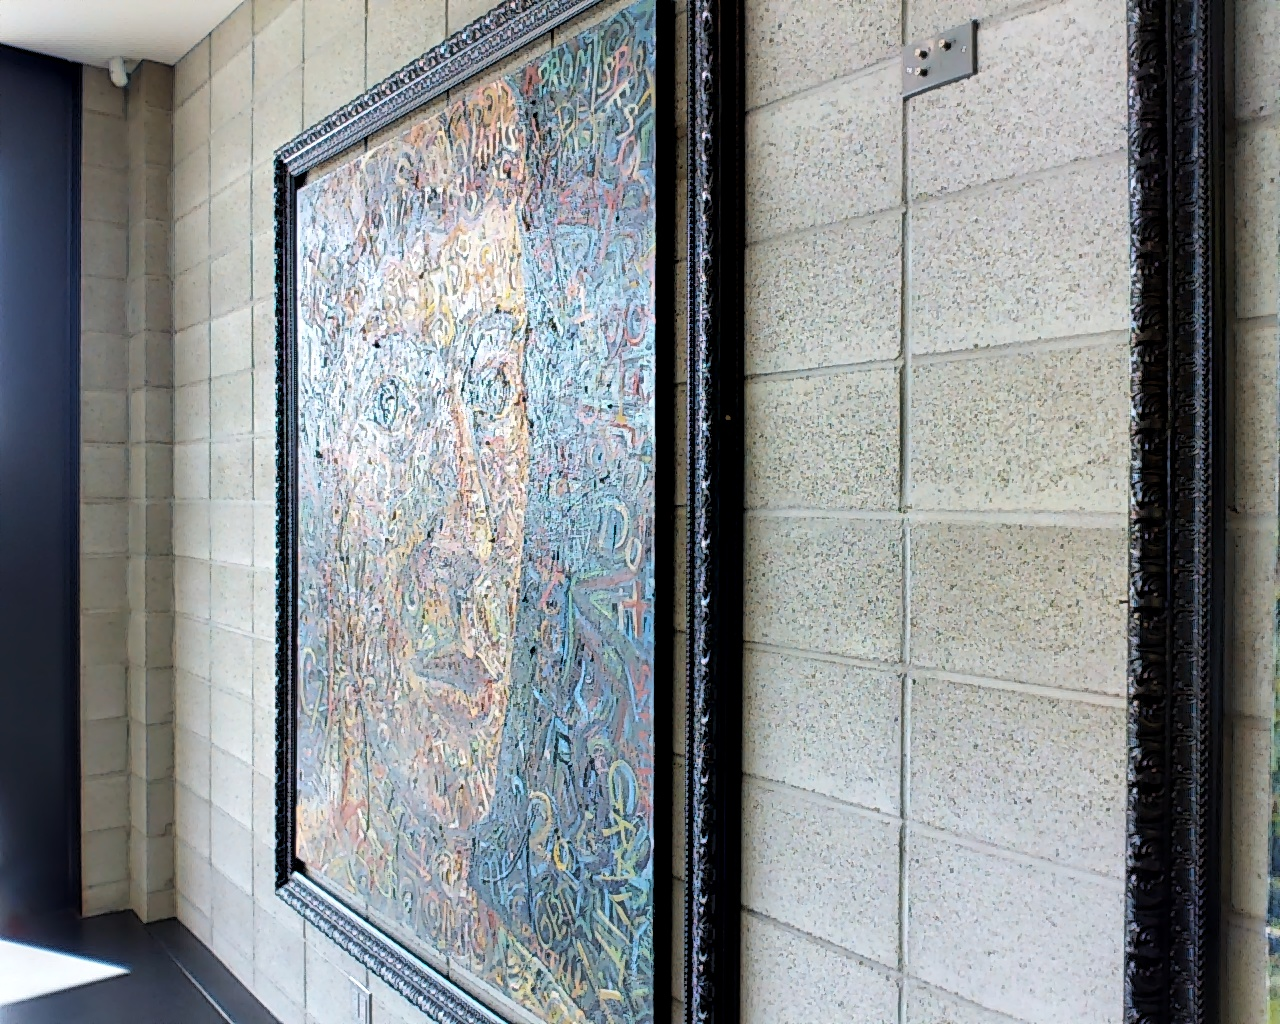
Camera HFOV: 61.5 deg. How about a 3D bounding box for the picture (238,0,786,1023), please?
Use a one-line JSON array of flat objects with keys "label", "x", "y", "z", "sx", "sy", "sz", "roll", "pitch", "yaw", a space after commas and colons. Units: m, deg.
[{"label": "picture", "x": -0.460, "y": 0.040, "z": 2.370, "sx": 0.100, "sy": 2.100, "sz": 1.920, "roll": 0, "pitch": 1, "yaw": -42}]
